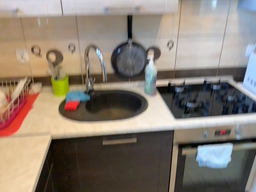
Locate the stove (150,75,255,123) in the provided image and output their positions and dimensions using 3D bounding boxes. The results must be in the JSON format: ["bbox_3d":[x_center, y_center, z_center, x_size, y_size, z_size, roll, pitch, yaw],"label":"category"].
[{"bbox_3d":[0.530,-0.010,1.470,0.640,0.040,0.590,-3,26,-6],"label":"stove"}]
